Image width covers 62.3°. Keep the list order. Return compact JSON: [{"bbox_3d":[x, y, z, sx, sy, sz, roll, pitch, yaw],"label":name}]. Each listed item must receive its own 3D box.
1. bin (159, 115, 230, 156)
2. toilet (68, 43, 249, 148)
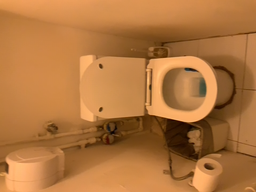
[{"bbox_3d":[0.440,0.250,1.440,0.360,0.270,0.140,12,102,49],"label":"bin"},{"bbox_3d":[0.180,-0.050,1.300,0.710,0.830,0.380,9,99,49],"label":"toilet"}]
